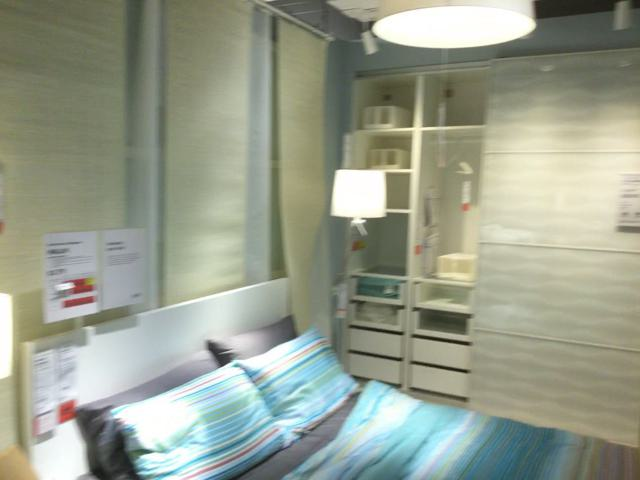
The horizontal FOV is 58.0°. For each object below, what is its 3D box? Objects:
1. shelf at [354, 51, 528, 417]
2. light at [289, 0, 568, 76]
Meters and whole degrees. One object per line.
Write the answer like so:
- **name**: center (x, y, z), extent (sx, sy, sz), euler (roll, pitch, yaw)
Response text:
- **shelf**: center (0.770, -0.060, 3.910), extent (0.960, 2.240, 0.480), euler (8, 16, 34)
- **light**: center (0.390, -0.820, 1.920), extent (0.660, 0.440, 0.750), euler (8, 12, 34)
